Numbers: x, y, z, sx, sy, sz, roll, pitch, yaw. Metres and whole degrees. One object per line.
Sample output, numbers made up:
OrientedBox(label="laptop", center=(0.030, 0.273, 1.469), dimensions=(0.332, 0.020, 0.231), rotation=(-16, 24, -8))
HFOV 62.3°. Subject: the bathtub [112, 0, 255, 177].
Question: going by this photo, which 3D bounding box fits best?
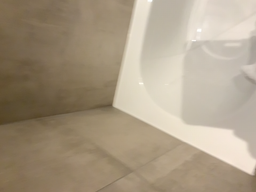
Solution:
OrientedBox(label="bathtub", center=(0.520, -0.590, 0.930), dimensions=(0.690, 0.540, 1.570), rotation=(25, 110, 35))
